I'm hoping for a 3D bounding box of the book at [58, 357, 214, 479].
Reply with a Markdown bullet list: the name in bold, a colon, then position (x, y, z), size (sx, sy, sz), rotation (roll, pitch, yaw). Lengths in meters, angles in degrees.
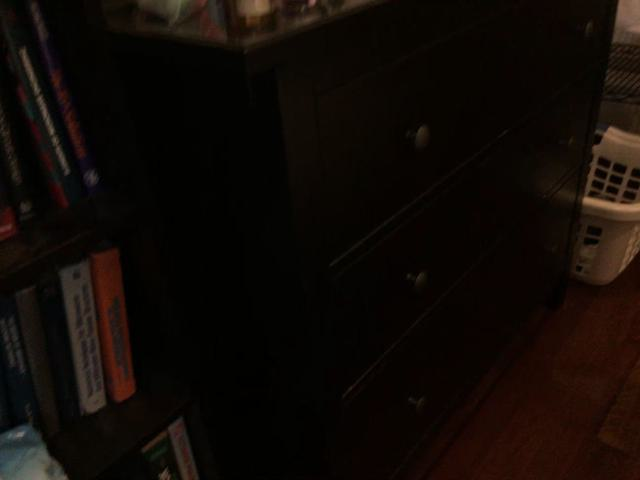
- **book**: position (-0.300, 0.380, 1.000), size (0.230, 0.280, 0.100), rotation (20, 42, 37)
